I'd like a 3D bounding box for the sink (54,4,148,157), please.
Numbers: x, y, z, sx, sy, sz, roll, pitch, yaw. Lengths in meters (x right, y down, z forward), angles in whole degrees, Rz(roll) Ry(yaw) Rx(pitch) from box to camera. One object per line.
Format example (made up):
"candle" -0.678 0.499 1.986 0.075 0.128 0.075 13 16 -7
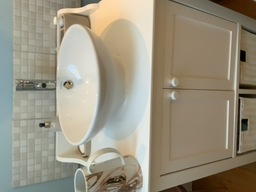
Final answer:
"sink" -0.130 -0.040 0.770 0.450 0.150 0.390 0 91 56
